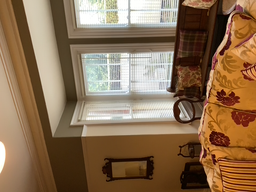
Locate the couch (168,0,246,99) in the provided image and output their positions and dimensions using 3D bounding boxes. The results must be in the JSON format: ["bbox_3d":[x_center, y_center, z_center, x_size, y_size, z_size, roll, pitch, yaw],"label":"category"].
[{"bbox_3d":[1.120,-0.850,3.210,0.570,0.740,1.730,-97,6,-60],"label":"couch"}]

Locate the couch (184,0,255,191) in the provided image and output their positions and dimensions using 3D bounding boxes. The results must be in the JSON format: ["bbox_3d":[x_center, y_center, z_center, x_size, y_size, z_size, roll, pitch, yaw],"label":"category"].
[{"bbox_3d":[1.150,0.210,1.640,1.090,0.890,1.830,-97,6,-60],"label":"couch"}]
